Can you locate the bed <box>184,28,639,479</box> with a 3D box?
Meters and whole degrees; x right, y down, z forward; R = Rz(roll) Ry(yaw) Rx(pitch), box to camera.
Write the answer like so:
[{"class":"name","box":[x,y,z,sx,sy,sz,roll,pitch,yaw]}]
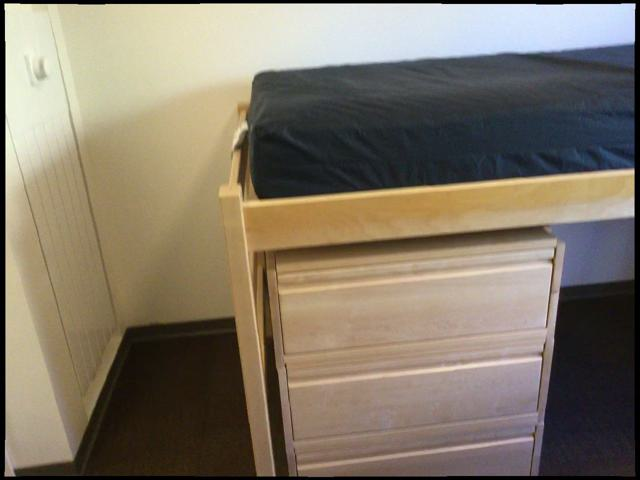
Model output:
[{"class":"bed","box":[0.908,-0.030,1.830,2.345,1.102,1.050,-5,24,-2]}]
